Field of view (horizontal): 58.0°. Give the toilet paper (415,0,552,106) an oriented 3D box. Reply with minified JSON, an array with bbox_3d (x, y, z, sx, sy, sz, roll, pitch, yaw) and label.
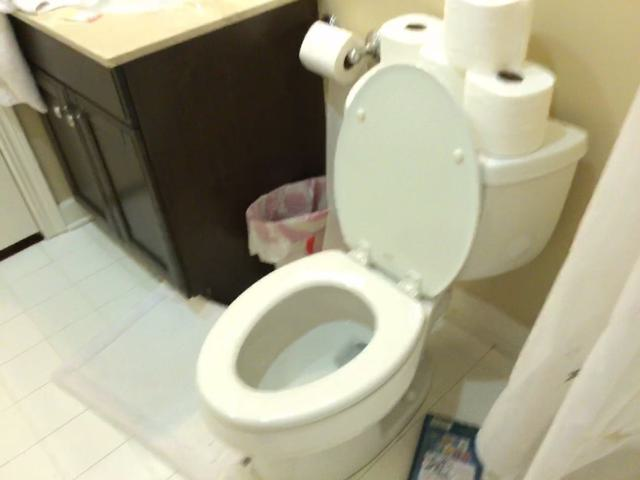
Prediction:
[{"bbox_3d":[0.270,-0.350,0.970,0.140,0.170,0.160,-33,47,-31],"label":"toilet paper"}]

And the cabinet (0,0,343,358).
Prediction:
[{"bbox_3d":[-0.440,-0.360,1.610,0.650,0.940,0.730,-33,47,-31],"label":"cabinet"}]

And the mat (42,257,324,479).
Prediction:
[{"bbox_3d":[-0.350,0.300,1.520,0.540,0.080,0.480,22,46,29],"label":"mat"}]

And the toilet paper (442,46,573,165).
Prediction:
[{"bbox_3d":[0.310,-0.230,0.970,0.140,0.120,0.140,-33,47,-31],"label":"toilet paper"}]

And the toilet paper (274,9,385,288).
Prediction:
[{"bbox_3d":[0.040,-0.210,1.510,0.170,0.690,0.180,-33,47,-31],"label":"toilet paper"}]
